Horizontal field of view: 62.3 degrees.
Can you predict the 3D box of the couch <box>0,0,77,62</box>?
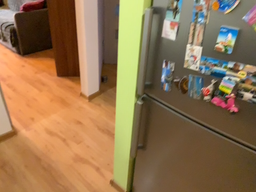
[{"bbox_3d":[-1.930,-1.440,3.690,2.070,0.850,0.970,29,40,33],"label":"couch"}]
